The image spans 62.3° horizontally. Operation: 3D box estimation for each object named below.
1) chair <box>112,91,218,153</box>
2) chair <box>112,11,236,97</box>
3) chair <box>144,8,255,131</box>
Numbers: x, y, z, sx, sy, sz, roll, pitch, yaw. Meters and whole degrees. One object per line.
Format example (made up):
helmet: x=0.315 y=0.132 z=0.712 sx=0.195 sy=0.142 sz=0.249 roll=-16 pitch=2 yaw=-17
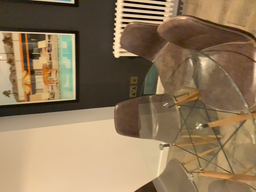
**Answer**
chair: x=0.320 y=0.200 z=1.970 sx=0.530 sy=0.780 sz=0.420 roll=175 pitch=91 yaw=-67
chair: x=0.350 y=-0.330 z=1.780 sx=0.440 sy=0.800 sz=0.470 roll=124 pitch=137 yaw=-56
chair: x=0.570 y=-0.160 z=1.280 sx=0.480 sy=0.820 sz=0.520 roll=-162 pitch=69 yaw=-65
